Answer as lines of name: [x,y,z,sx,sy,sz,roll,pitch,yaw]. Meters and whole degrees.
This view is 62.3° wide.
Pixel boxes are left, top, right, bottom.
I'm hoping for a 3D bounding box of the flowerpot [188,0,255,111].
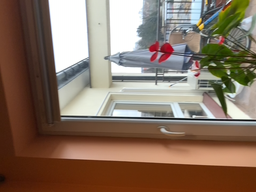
flowerpot: [0.610,-0.190,0.980,0.280,0.560,0.450,-77,-13,-74]
